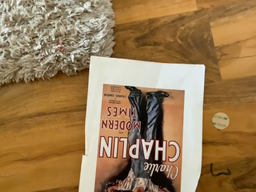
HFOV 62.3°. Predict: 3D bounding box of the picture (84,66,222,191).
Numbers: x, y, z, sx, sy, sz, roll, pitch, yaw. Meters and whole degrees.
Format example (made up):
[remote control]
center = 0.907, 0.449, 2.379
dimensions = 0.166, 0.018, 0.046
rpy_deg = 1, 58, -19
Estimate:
[picture]
center = 0.040, 0.090, 0.370
dimensions = 0.230, 0.020, 0.280
rpy_deg = -1, 85, 1
